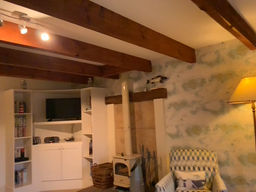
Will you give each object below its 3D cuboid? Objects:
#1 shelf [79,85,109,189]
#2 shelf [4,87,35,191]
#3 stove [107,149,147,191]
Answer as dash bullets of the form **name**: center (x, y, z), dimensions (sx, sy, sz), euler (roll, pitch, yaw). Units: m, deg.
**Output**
- **shelf**: center (-0.690, 0.780, 4.280), dimensions (0.340, 1.960, 0.390), euler (-7, -7, 40)
- **shelf**: center (-2.100, 0.830, 4.090), dimensions (0.460, 1.960, 0.390), euler (-7, -7, 40)
- **stove**: center (-0.010, 1.250, 3.630), dimensions (0.480, 0.560, 0.450), euler (-7, -7, 41)
